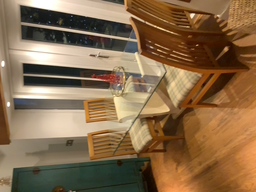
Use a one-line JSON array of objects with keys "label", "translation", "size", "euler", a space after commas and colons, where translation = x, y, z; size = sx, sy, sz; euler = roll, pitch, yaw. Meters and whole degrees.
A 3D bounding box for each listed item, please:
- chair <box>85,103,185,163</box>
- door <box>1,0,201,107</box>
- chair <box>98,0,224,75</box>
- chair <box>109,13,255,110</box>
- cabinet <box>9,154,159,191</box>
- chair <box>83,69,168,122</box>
[{"label": "chair", "translation": [0.050, 0.450, 2.580], "size": [0.590, 1.000, 0.430], "euler": [118, 146, -45]}, {"label": "door", "translation": [-0.400, -0.450, 2.630], "size": [1.770, 1.920, 0.170], "euler": [119, 145, -46]}, {"label": "chair", "translation": [0.290, -0.610, 2.110], "size": [0.590, 1.000, 0.440], "euler": [117, 146, -44]}, {"label": "chair", "translation": [0.420, -0.230, 1.800], "size": [0.570, 0.980, 0.440], "euler": [117, 146, -44]}, {"label": "cabinet", "translation": [-0.530, 1.260, 2.800], "size": [0.470, 1.810, 0.690], "euler": [118, 146, -45]}, {"label": "chair", "translation": [-0.060, 0.020, 2.910], "size": [0.590, 0.960, 0.400], "euler": [118, 146, -45]}]
